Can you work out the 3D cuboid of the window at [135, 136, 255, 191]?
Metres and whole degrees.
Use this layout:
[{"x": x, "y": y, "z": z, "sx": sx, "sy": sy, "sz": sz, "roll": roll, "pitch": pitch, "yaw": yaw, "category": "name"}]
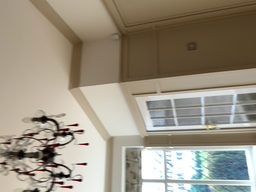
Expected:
[{"x": 1.000, "y": 1.450, "z": 3.020, "sx": 0.230, "sy": 1.800, "sz": 1.690, "roll": 51, "pitch": -142, "yaw": -65, "category": "window"}]
